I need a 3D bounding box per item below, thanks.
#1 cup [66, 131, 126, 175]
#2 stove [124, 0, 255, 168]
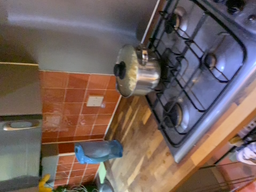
[{"bbox_3d":[-0.200,0.340,1.280,0.170,0.300,0.170,120,142,-45],"label":"cup"},{"bbox_3d":[0.170,-0.140,0.790,0.570,0.030,0.580,115,145,-41],"label":"stove"}]
